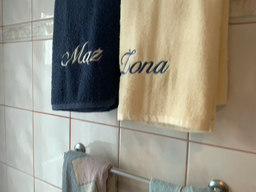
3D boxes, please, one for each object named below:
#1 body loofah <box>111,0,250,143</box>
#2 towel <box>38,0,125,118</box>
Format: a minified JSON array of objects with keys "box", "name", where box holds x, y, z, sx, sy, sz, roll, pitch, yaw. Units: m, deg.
[{"box":[0.120,-0.130,0.500,0.270,0.400,0.150,6,7,32],"name":"body loofah"},{"box":[-0.150,-0.160,0.670,0.240,0.410,0.130,6,7,31],"name":"towel"}]
